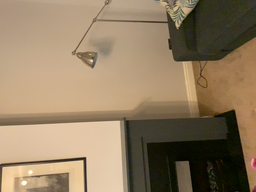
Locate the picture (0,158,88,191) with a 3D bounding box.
[{"bbox_3d":[-0.660,0.790,1.680,0.050,0.680,0.520,132,135,-73],"label":"picture"}]
